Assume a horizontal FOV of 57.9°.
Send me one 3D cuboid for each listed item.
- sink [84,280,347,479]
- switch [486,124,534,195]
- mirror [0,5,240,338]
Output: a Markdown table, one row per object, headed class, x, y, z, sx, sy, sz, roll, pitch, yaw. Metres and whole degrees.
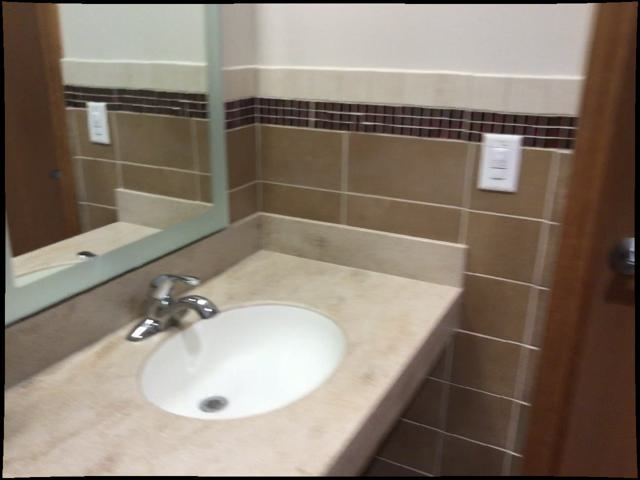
| class | x | y | z | sx | sy | sz | roll | pitch | yaw |
| --- | --- | --- | --- | --- | --- | --- | --- | --- | --- |
| sink | -0.180 | 0.260 | 1.150 | 0.320 | 0.160 | 0.410 | 11 | 23 | 26 |
| switch | 0.400 | -0.170 | 1.220 | 0.080 | 0.140 | 0.020 | 11 | 23 | 26 |
| mirror | -0.380 | -0.180 | 1.110 | 0.060 | 0.490 | 0.650 | 11 | 23 | 26 |
